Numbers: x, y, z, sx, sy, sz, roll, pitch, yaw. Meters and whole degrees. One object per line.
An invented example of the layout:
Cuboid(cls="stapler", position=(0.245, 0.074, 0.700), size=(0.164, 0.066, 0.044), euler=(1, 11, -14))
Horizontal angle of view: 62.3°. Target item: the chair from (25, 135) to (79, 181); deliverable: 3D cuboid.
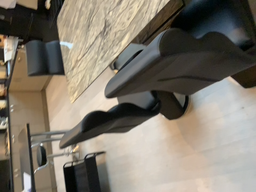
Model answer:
Cuboid(cls="chair", position=(-1.270, 1.000, 3.550), size=(0.380, 0.760, 0.520), euler=(19, 105, 52))

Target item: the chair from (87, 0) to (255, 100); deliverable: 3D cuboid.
Cuboid(cls="chair", position=(0.360, -0.350, 1.130), size=(0.410, 1.000, 0.630), euler=(-34, 63, 49))
